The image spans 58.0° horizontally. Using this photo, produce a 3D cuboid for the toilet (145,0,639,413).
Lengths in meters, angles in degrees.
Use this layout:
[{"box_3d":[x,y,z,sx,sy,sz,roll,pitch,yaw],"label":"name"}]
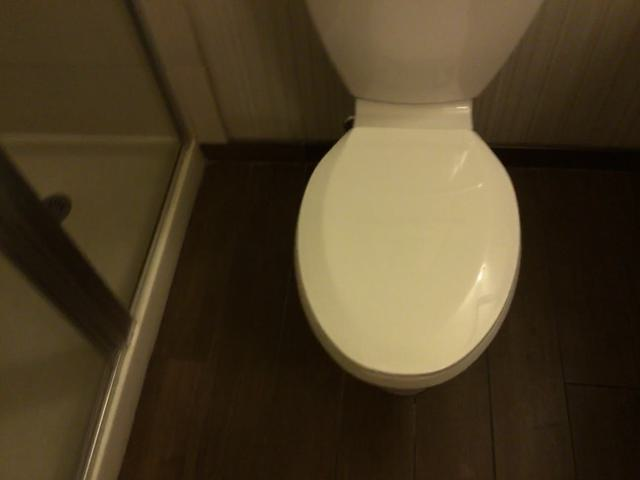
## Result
[{"box_3d":[0.120,-0.180,0.900,0.460,0.430,0.740,1,57,9],"label":"toilet"}]
